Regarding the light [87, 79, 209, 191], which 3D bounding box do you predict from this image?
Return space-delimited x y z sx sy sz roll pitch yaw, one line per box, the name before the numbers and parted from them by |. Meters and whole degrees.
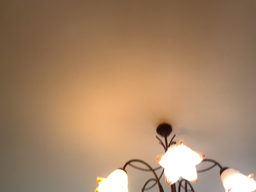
light | 0.150 0.460 1.190 0.440 0.690 0.910 4 -140 12
